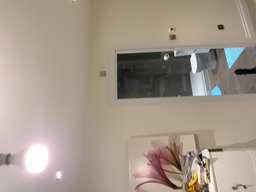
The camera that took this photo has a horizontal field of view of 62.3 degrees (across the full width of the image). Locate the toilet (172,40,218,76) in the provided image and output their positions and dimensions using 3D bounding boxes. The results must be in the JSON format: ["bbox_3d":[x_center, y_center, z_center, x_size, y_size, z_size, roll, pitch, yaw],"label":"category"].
[{"bbox_3d":[1.430,-0.830,4.630,0.410,0.790,0.630,85,-177,-65],"label":"toilet"}]
